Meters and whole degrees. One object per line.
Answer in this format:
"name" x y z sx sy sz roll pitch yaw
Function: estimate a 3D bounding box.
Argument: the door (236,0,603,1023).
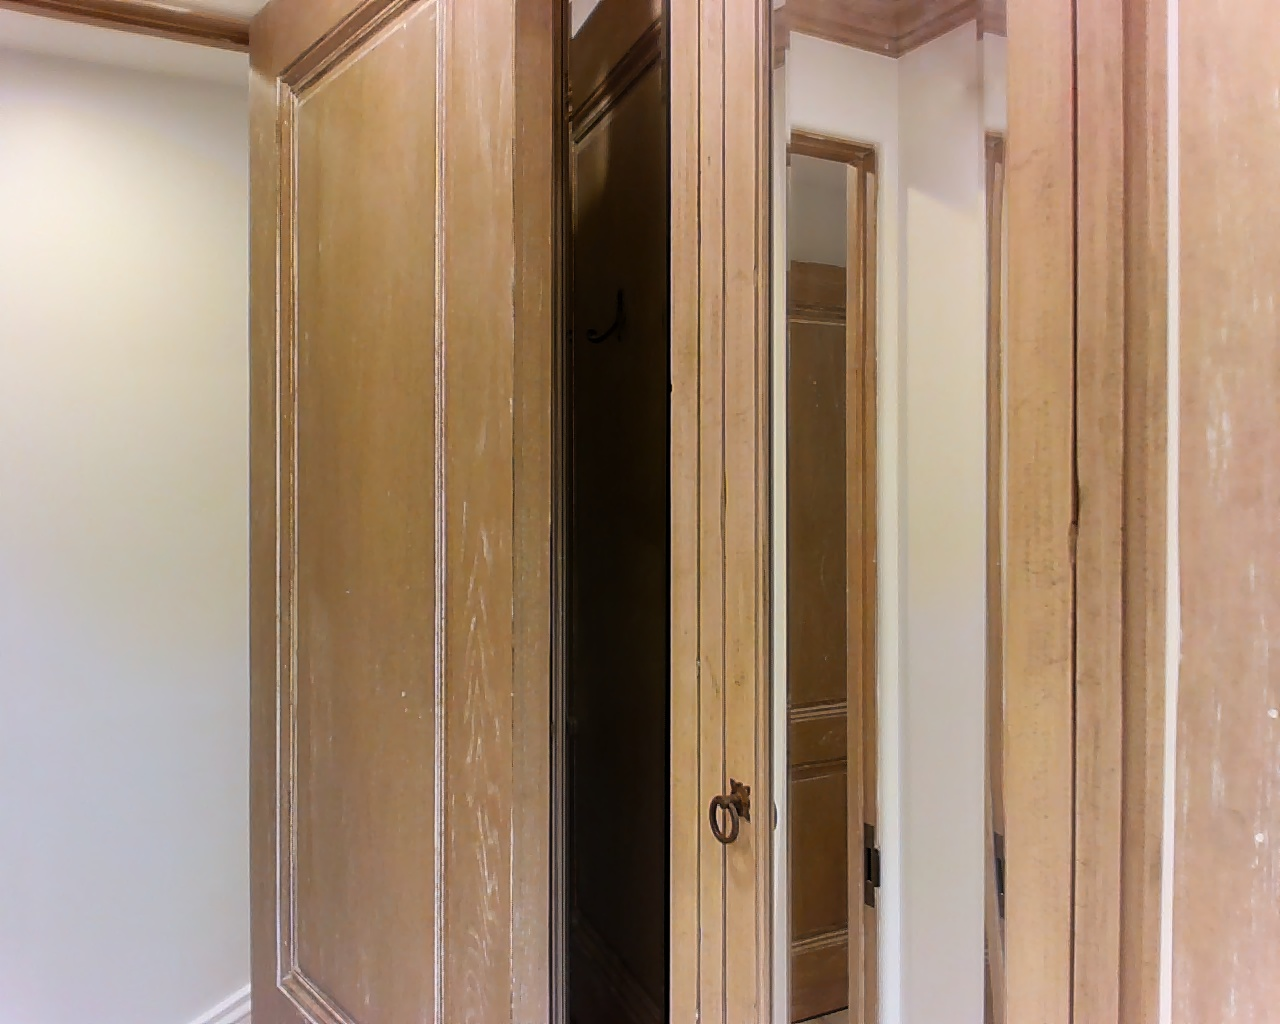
"door" -0.340 0.460 1.360 0.080 2.491 0.810 1 1 -37
